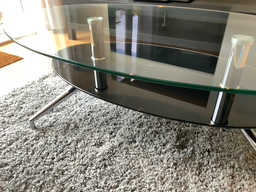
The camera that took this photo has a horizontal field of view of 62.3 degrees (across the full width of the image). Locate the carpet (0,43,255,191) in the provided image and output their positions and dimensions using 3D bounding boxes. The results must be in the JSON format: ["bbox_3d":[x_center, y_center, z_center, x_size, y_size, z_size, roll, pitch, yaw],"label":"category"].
[{"bbox_3d":[0.140,0.150,0.790,1.760,0.070,1.230,17,36,24],"label":"carpet"}]
